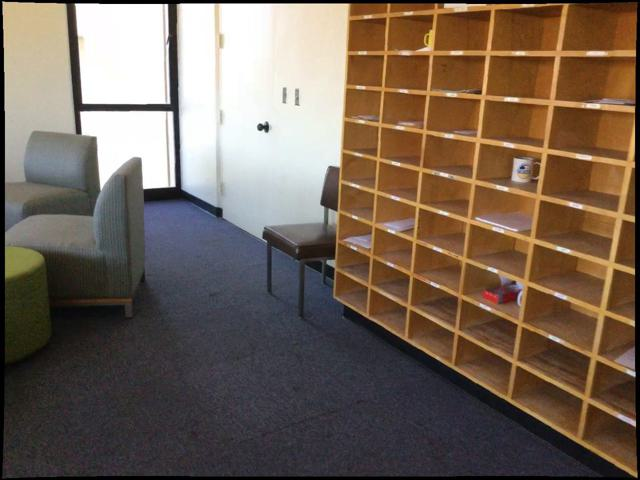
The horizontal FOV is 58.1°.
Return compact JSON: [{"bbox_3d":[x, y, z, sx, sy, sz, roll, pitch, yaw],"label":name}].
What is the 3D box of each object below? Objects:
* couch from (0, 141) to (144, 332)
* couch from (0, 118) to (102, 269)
[{"bbox_3d":[-1.466,-0.060,3.270,0.798,0.892,0.780,0,16,-12],"label":"couch"},{"bbox_3d":[-2.224,-0.391,4.230,0.758,0.902,0.840,9,16,21],"label":"couch"}]
